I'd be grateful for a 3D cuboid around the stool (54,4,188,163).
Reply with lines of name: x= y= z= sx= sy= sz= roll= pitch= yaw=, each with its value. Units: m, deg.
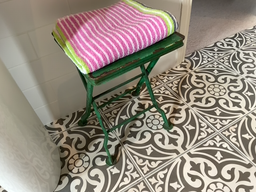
stool: x=-0.020 y=-0.040 z=0.730 sx=0.280 sy=0.400 sz=0.260 roll=-25 pitch=48 yaw=-20
